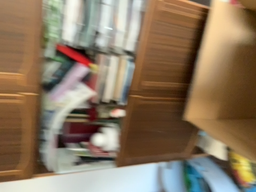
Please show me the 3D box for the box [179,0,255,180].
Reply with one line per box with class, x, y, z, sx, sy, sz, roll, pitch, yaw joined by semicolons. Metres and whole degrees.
box;0.690;-0.060;0.990;0.460;0.580;0.630;41;125;57
